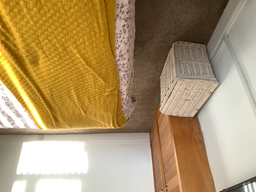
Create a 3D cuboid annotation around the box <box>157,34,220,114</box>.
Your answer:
[{"bbox_3d":[0.450,-0.160,1.740,0.320,0.420,0.500,-2,148,-1],"label":"box"}]
